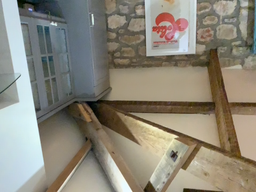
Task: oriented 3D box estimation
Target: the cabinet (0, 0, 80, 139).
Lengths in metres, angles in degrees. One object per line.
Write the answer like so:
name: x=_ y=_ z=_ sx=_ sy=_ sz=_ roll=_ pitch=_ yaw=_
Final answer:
cabinet: x=-0.900 y=-0.270 z=1.940 sx=0.450 sy=0.940 sz=0.980 roll=1 pitch=-165 yaw=12
